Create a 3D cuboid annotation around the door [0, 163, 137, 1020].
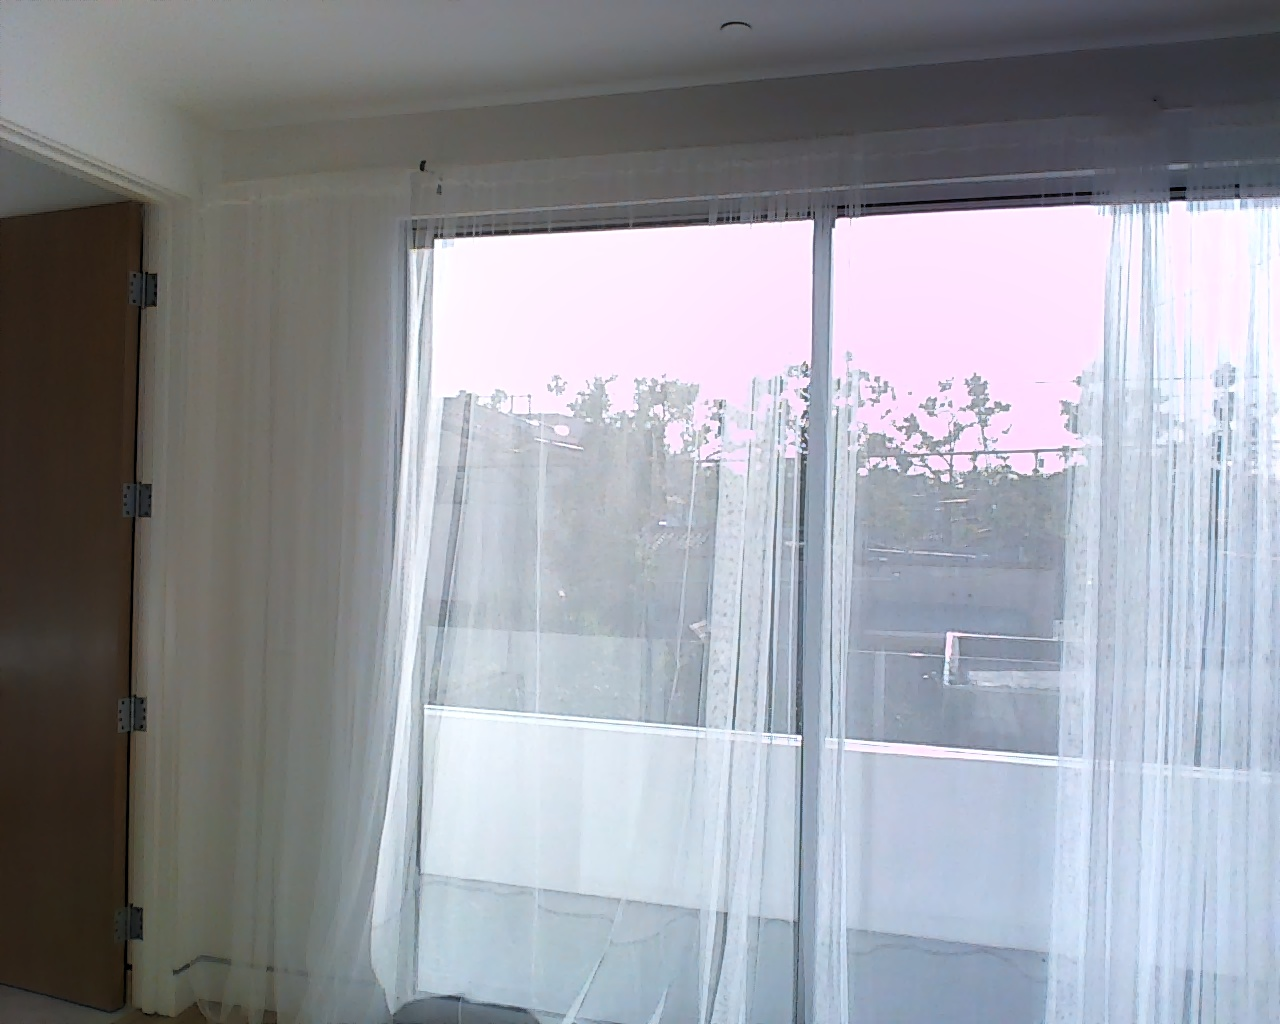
[{"bbox_3d":[-1.909,0.230,3.400,0.780,2.571,0.030,1,0,25],"label":"door"}]
